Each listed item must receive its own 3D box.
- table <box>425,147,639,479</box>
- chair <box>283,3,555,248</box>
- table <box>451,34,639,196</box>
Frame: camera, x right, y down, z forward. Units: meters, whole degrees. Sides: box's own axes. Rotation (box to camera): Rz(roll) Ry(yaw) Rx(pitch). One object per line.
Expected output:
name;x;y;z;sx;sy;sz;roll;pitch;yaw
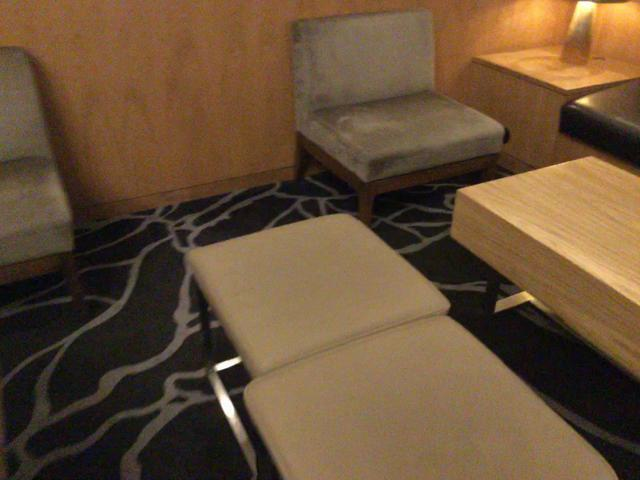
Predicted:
table;0.970;0.230;1.620;0.660;0.510;1.240;-12;33;-25
chair;0.380;-0.570;2.620;0.860;0.840;0.700;-11;33;-25
table;1.220;-0.690;3.010;0.630;0.580;0.750;-11;33;-25
